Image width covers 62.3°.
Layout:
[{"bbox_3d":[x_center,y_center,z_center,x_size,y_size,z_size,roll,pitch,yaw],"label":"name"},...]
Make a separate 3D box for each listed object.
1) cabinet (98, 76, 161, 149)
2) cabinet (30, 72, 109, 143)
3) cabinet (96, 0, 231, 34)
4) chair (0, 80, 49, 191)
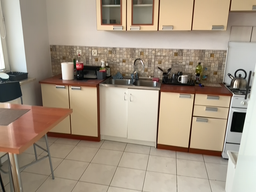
[{"bbox_3d":[0.030,0.200,3.040,0.780,0.850,0.520,5,16,10],"label":"cabinet"},{"bbox_3d":[-0.820,0.130,3.160,0.940,0.850,0.570,5,16,10],"label":"cabinet"},{"bbox_3d":[0.410,-1.130,2.690,1.590,0.600,0.310,5,16,10],"label":"cabinet"},{"bbox_3d":[-1.110,0.380,2.080,0.470,0.970,0.370,13,19,34],"label":"chair"}]
